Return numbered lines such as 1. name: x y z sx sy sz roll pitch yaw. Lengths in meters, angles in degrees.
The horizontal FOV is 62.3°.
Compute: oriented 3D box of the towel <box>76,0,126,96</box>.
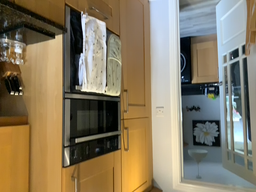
1. towel: -0.160 -0.290 1.420 0.080 0.560 0.440 -2 176 30
